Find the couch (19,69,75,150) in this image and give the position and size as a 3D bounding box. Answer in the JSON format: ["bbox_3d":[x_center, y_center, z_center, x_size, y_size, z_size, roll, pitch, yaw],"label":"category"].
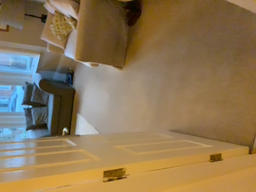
[{"bbox_3d":[-1.990,0.270,5.070,1.080,0.950,1.600,25,109,56],"label":"couch"}]

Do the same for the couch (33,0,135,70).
[{"bbox_3d":[-0.860,-1.070,3.400,1.950,0.900,0.930,26,110,56],"label":"couch"}]
